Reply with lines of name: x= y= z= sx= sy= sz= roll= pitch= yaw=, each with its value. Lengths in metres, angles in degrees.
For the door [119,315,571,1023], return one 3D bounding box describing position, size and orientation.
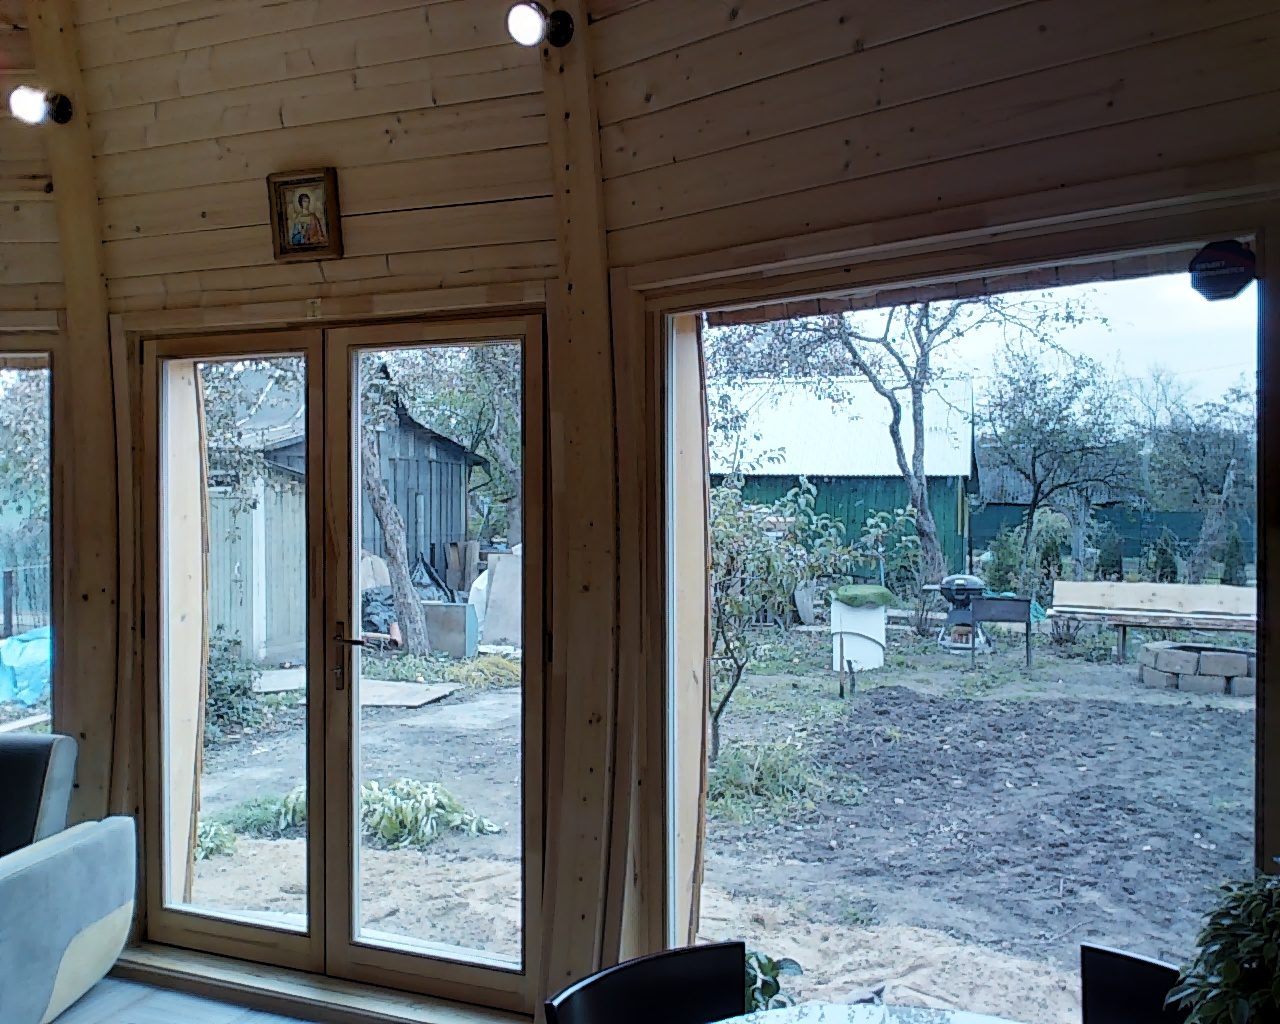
door: x=-0.970 y=0.470 z=3.400 sx=1.550 sy=2.061 sz=0.180 roll=0 pitch=0 yaw=19
